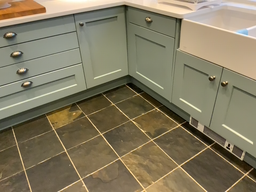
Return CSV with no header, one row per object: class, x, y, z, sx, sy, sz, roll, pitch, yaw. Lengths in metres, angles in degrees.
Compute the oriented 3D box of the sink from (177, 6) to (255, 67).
sink,0.660,-0.440,1.480,0.520,0.230,0.330,-23,39,-27
